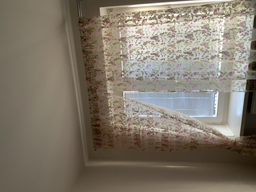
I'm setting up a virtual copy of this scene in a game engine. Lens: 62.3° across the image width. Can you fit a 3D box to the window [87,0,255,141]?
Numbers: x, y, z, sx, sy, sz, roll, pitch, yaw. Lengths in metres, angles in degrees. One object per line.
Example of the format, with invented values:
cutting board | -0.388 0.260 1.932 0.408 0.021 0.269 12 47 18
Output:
window | 0.440 -0.260 2.440 0.300 1.600 1.570 -71 -21 -69
